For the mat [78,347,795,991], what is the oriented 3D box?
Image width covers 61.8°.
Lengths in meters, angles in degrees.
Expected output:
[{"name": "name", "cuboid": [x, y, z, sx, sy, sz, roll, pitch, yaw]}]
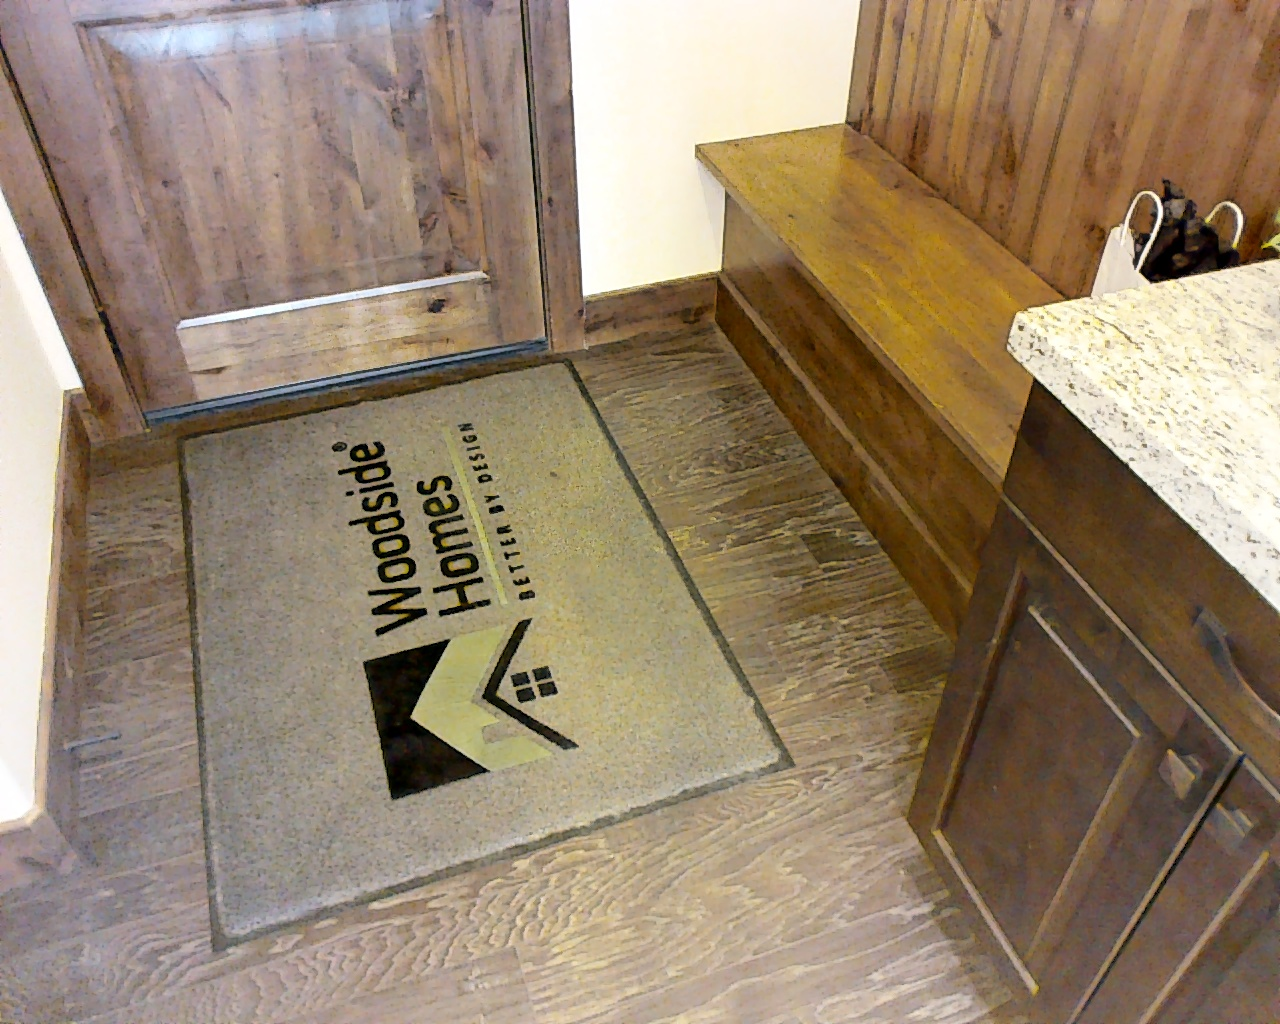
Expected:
[{"name": "mat", "cuboid": [-0.460, 0.120, 1.990, 1.040, 0.020, 1.260, -13, 43, -14]}]
